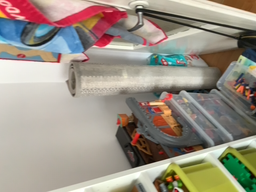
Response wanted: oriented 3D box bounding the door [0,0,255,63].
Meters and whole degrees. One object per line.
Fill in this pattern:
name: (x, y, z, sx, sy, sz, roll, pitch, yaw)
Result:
door: (-0.250, -0.280, 0.820, 0.850, 2.510, 0.110, 3, 95, 60)
